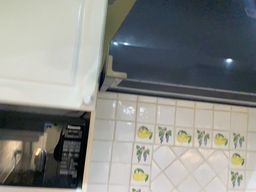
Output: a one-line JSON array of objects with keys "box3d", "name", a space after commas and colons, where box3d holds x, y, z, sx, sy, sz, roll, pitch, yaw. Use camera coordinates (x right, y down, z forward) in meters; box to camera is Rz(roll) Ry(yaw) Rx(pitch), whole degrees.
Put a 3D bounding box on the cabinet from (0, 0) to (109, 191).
[{"box3d": [-0.400, -0.090, 0.920, 0.550, 1.020, 0.310, 6, -4, -10], "name": "cabinet"}]
